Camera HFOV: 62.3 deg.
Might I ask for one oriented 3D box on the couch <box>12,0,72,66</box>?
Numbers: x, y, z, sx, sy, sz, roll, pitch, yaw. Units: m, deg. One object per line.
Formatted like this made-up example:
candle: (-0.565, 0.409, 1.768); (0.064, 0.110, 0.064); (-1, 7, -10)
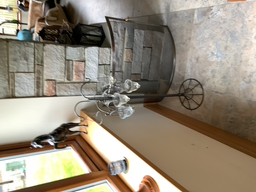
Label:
couch: (-1.880, -1.400, 4.510); (1.050, 0.900, 1.050); (60, 139, 34)
